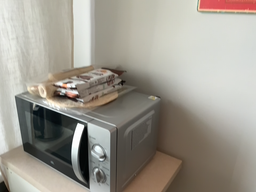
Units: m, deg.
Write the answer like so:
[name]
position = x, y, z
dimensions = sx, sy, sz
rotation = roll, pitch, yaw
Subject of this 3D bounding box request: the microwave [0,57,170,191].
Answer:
[microwave]
position = -0.160, 0.070, 0.810
dimensions = 0.470, 0.320, 0.450
rotation = 14, 24, 29
